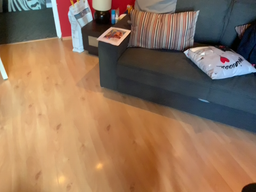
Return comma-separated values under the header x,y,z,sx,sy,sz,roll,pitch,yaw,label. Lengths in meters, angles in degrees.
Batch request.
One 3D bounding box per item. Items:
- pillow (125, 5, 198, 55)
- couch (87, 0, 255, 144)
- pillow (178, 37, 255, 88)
x,y,z,sx,sy,sz,roll,pitch,yaw,label
0.300,-0.600,1.940,0.580,0.330,0.200,11,62,13,pillow
0.820,-0.370,1.940,2.090,0.890,0.970,18,42,16,couch
0.740,-0.300,1.770,0.420,0.140,0.480,-12,42,-18,pillow
